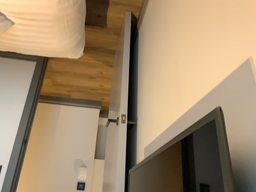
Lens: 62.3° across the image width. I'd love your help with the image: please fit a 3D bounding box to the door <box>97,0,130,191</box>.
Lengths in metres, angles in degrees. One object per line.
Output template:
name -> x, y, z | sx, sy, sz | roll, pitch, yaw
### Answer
door -> -0.130, 0.360, 1.500 | 0.040, 2.200, 0.780 | 8, 152, -12
